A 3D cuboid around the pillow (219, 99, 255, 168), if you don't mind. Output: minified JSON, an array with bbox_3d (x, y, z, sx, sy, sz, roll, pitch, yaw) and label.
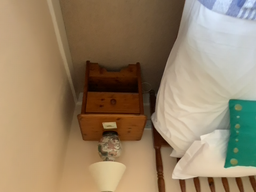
[{"bbox_3d":[0.720,0.200,1.190,0.350,0.360,0.140,1,180,-5],"label":"pillow"}]

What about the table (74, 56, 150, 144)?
[{"bbox_3d":[-0.110,0.040,1.610,0.460,0.500,0.440,2,146,-4],"label":"table"}]
